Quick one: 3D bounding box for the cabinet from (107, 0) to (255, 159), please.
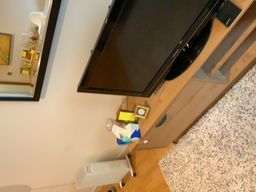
[{"bbox_3d":[0.490,-0.260,1.480,1.900,0.530,0.430,-59,42,37],"label":"cabinet"}]

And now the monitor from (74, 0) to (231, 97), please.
[{"bbox_3d":[0.090,-0.270,1.130,0.760,0.520,0.060,-52,46,39],"label":"monitor"}]
